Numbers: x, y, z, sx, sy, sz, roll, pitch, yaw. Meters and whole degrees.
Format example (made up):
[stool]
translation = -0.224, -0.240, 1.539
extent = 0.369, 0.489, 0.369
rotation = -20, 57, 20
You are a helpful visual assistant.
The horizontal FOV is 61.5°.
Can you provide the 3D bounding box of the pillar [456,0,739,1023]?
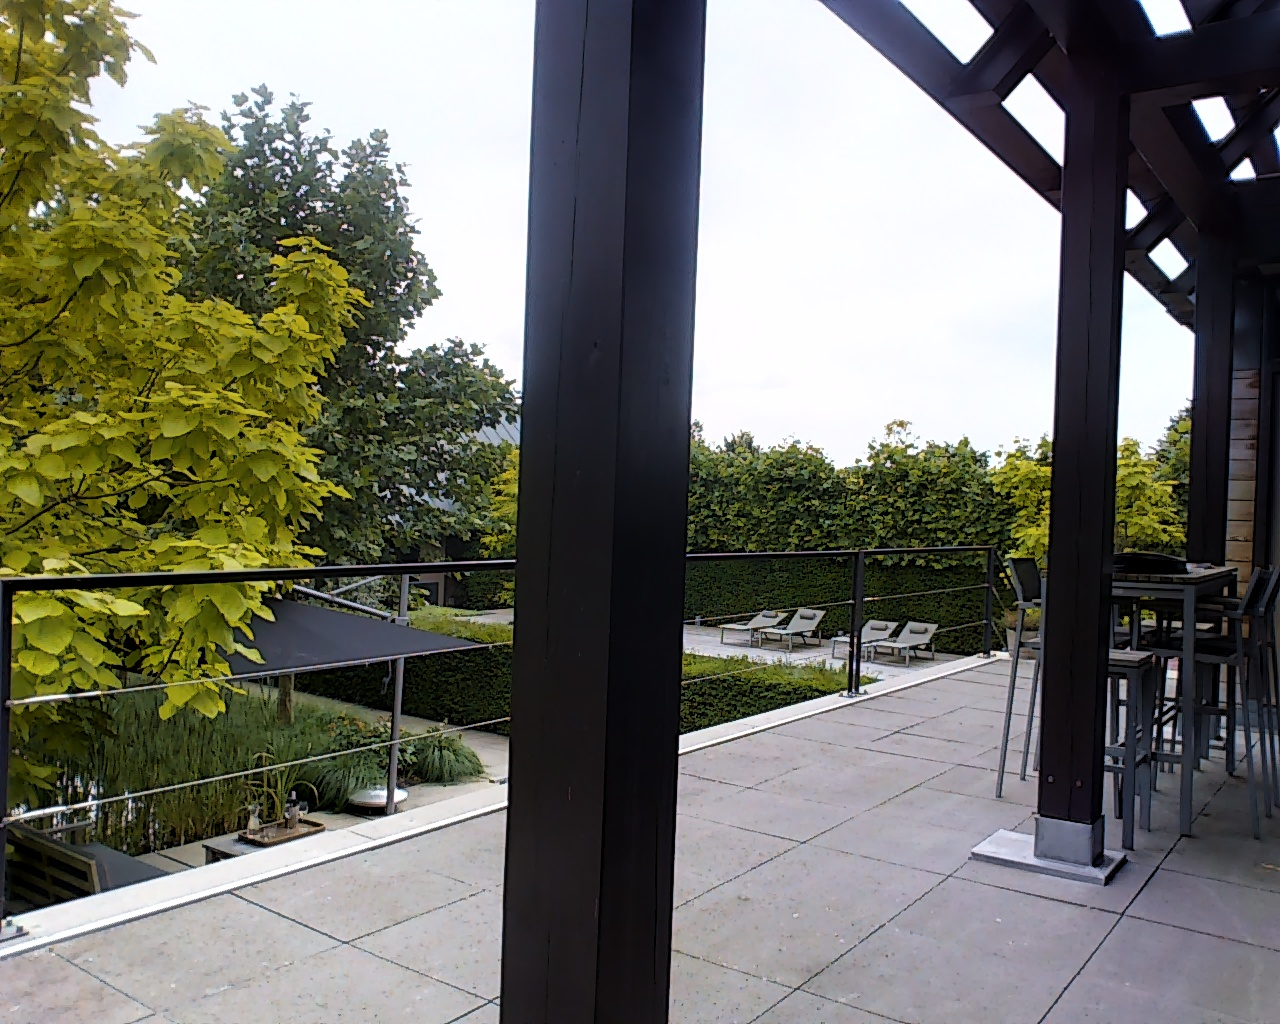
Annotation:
[pillar]
translation = -0.060, -0.070, 1.710
extent = 0.260, 2.670, 0.320
rotation = 2, 1, 36
